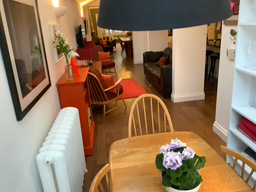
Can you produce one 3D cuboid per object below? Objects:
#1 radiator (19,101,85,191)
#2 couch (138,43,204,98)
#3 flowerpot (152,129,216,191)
[{"bbox_3d":[-0.590,0.590,1.900,0.270,0.800,0.900,-6,20,-7],"label":"radiator"},{"bbox_3d":[0.930,-0.760,5.320,0.960,0.810,2.230,-6,20,-5],"label":"couch"},{"bbox_3d":[0.270,0.350,1.100,0.240,0.240,0.260,-5,20,-4],"label":"flowerpot"}]
